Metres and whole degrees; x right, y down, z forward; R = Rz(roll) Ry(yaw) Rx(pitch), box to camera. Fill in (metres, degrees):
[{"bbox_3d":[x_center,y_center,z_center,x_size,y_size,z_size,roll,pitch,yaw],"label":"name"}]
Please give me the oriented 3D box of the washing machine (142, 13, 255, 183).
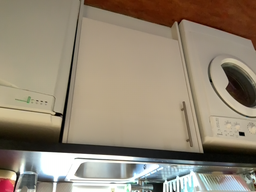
[{"bbox_3d":[0.550,0.070,1.490,0.620,0.920,0.670,8,149,-18],"label":"washing machine"}]
